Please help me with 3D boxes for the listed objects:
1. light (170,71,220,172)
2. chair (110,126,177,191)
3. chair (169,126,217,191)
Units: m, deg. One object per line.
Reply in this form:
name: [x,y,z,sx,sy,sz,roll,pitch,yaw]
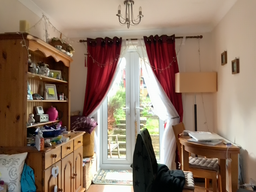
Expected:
light: [0.990,0.360,3.210,0.630,1.440,0.350,0,-1,-3]
chair: [0.160,0.780,2.010,0.560,0.910,0.470,0,-1,8]
chair: [0.810,0.830,2.610,0.520,0.830,0.440,0,-1,23]
